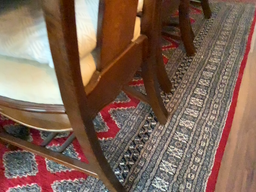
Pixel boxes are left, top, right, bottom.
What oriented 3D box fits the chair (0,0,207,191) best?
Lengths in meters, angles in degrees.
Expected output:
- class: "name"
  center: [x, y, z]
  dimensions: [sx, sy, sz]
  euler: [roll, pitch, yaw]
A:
- class: "chair"
  center: [-0.180, -0.230, 0.550]
  dimensions: [0.640, 1.010, 0.530]
  euler: [16, 47, 23]
